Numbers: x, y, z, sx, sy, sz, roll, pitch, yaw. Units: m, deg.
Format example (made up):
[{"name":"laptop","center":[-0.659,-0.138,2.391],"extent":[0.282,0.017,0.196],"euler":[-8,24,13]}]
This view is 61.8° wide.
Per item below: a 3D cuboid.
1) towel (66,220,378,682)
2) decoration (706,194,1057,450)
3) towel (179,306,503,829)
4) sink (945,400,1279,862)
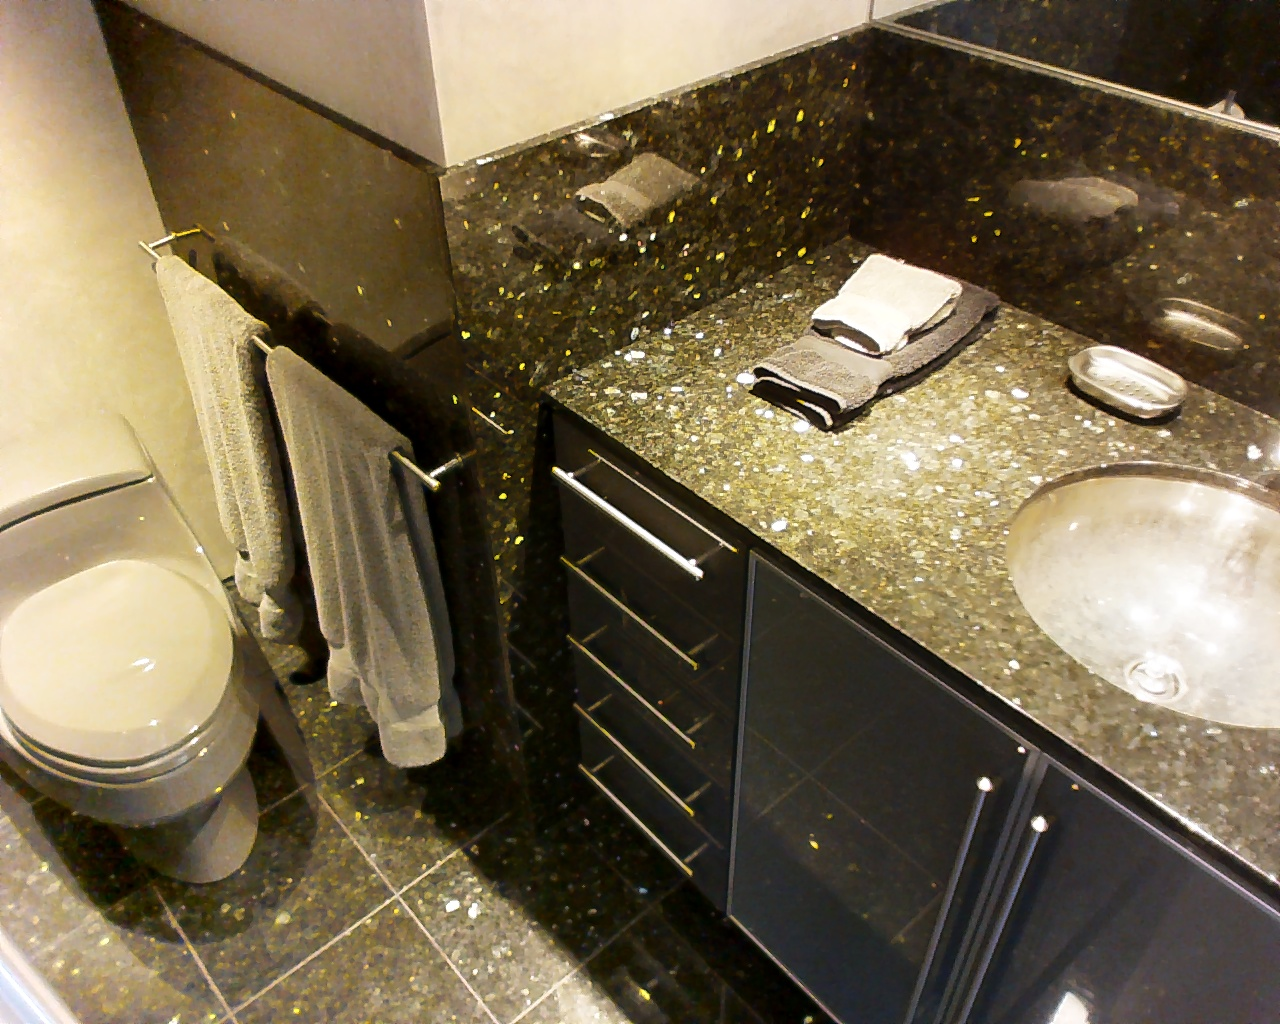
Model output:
[{"name":"towel","center":[-0.750,-0.100,1.970],"extent":[0.170,0.720,0.470],"euler":[-31,48,-28]},{"name":"decoration","center":[0.310,-0.260,1.380],"extent":[0.400,0.110,0.230],"euler":[-31,48,-28]},{"name":"towel","center":[-0.460,0.110,1.730],"extent":[0.150,0.760,0.450],"euler":[-31,48,-28]},{"name":"sink","center":[0.600,0.100,1.150],"extent":[0.320,0.180,0.390],"euler":[-31,48,-28]}]
